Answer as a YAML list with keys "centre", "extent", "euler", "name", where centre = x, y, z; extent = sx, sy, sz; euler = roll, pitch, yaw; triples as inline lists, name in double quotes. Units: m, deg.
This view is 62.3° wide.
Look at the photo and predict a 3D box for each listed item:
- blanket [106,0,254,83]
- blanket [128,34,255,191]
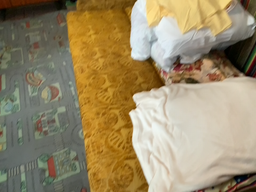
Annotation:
- centre: [0.250, -0.620, 1.550]
  extent: [0.660, 0.450, 0.890]
  euler: [-11, 49, -11]
  name: "blanket"
- centre: [0.390, 0.100, 1.040]
  extent: [0.600, 0.390, 0.700]
  euler: [-12, 49, -11]
  name: "blanket"
